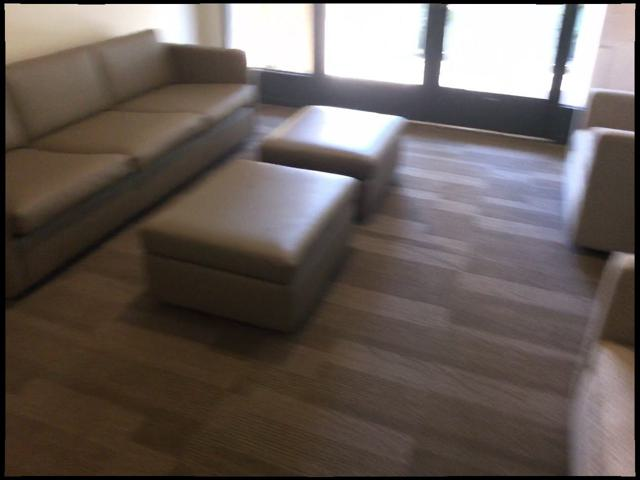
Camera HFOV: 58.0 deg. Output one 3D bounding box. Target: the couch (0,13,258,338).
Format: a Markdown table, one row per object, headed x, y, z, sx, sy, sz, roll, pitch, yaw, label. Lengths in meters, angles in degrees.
| x | y | z | sx | sy | sz | roll | pitch | yaw | label |
| --- | --- | --- | --- | --- | --- | --- | --- | --- | --- |
| -1.247 | -0.581 | 3.010 | 0.998 | 0.711 | 2.271 | 12 | 32 | 14 | couch |

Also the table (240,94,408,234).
| x | y | z | sx | sy | sz | roll | pitch | yaw | label |
| --- | --- | --- | --- | --- | --- | --- | --- | --- | --- |
| 0.050 | -0.461 | 3.210 | 0.689 | 0.391 | 0.820 | 12 | 32 | 14 | table |

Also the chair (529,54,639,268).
| x | y | z | sx | sy | sz | roll | pitch | yaw | label |
| --- | --- | --- | --- | --- | --- | --- | --- | --- | --- |
| 1.687 | -0.431 | 3.000 | 0.978 | 0.711 | 1.070 | 12 | 32 | 14 | chair |
